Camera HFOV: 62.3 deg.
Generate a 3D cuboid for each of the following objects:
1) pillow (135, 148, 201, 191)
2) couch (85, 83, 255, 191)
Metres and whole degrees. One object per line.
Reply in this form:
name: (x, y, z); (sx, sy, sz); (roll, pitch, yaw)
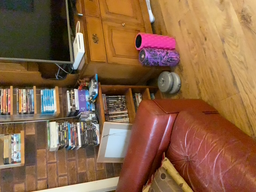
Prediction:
pillow: (0.260, 0.610, 1.120); (0.590, 0.140, 0.320); (52, 135, 50)
couch: (0.320, 0.640, 1.120); (1.140, 0.730, 0.990); (52, 134, 51)
